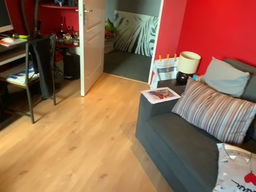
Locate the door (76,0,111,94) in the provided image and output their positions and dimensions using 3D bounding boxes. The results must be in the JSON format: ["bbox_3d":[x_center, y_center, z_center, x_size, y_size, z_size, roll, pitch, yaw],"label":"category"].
[{"bbox_3d":[-0.390,-1.050,2.580,0.130,1.880,0.840,11,30,7],"label":"door"}]
